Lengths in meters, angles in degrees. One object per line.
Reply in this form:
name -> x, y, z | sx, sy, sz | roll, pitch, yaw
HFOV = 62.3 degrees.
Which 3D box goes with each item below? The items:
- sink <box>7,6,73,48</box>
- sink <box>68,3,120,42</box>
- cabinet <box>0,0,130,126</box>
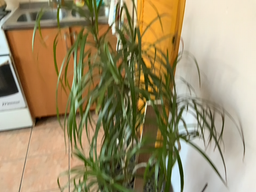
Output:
sink -> -0.620, -0.530, 1.580 | 0.380, 0.180, 0.380 | -7, 35, -11
sink -> -0.270, -0.580, 1.640 | 0.350, 0.180, 0.380 | -7, 35, -11
cabinet -> -0.450, -0.310, 1.840 | 0.810, 0.850, 0.580 | -7, 35, -11
